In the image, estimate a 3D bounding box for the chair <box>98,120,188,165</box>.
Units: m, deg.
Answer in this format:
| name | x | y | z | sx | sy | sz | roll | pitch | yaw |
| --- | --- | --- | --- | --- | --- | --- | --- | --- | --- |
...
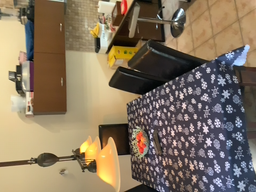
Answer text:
| name | x | y | z | sx | sy | sz | roll | pitch | yaw |
| --- | --- | --- | --- | --- | --- | --- | --- | --- | --- |
| chair | 0.180 | 0.560 | 2.760 | 0.530 | 1.040 | 0.430 | 170 | 100 | -70 |
